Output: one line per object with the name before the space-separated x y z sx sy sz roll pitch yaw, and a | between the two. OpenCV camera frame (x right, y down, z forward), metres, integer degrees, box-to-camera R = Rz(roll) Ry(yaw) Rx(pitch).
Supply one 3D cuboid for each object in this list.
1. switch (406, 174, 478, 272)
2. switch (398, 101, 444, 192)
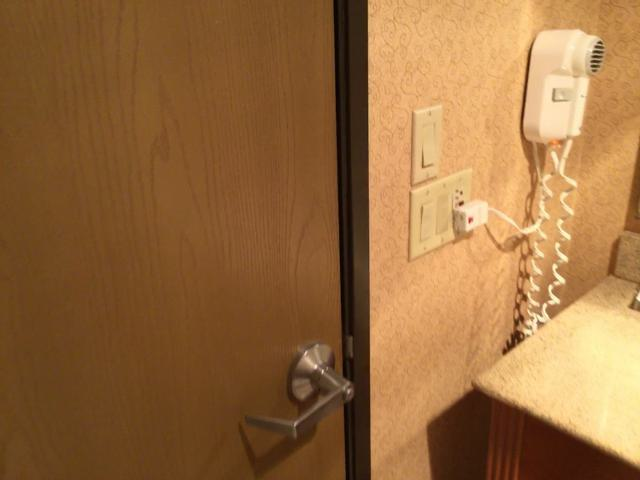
switch | 0.200 -0.030 0.940 0.160 0.120 0.020 -21 29 -39
switch | 0.150 -0.140 0.860 0.090 0.120 0.010 -21 29 -39
